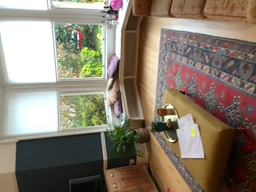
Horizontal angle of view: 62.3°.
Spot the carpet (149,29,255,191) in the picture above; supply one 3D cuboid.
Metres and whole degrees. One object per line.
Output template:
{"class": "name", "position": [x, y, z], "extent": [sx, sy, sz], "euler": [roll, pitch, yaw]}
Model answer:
{"class": "carpet", "position": [0.820, 0.330, 2.370], "extent": [2.750, 0.010, 1.860], "euler": [-127, 37, -63]}
